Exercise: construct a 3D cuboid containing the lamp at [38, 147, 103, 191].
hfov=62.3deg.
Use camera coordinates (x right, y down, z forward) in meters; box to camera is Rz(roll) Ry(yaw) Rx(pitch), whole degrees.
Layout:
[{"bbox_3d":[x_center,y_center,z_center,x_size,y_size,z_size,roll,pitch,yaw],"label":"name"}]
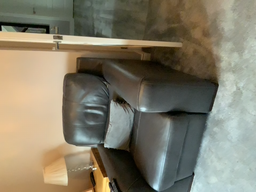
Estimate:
[{"bbox_3d":[-0.620,0.780,2.270,0.290,0.620,0.270,-140,52,-58],"label":"lamp"}]
